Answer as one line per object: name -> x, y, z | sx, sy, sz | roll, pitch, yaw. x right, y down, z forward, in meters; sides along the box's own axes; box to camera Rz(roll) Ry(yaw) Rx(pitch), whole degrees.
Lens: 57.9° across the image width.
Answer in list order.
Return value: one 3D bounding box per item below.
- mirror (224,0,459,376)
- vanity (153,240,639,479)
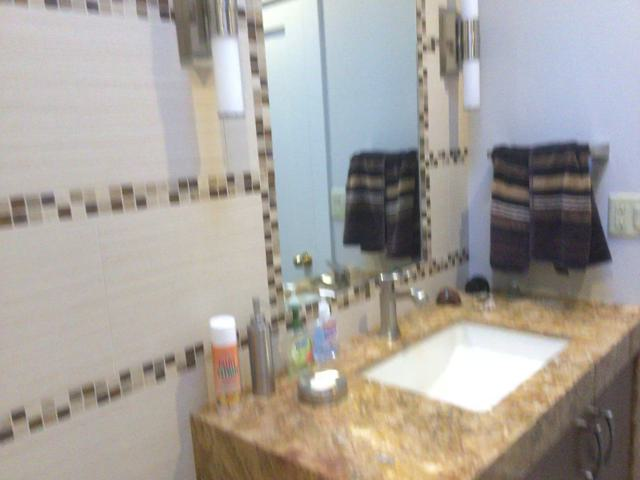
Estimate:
mirror -> 0.090, -0.480, 1.500 | 0.150, 1.470, 0.720 | 3, 11, 42
vanity -> 0.360, 0.630, 1.410 | 0.660, 1.060, 1.200 | 3, 11, 42
